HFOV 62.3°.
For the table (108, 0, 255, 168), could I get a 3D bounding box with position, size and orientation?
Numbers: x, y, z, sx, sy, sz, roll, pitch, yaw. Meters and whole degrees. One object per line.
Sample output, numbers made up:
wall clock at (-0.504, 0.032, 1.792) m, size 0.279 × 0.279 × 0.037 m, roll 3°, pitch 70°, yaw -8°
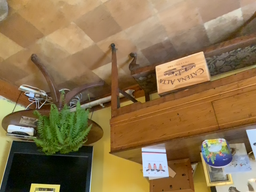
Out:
table at (0.700, -0.140, 1.320) m, size 1.570 × 0.840 × 0.610 m, roll -18°, pitch 147°, yaw 25°
